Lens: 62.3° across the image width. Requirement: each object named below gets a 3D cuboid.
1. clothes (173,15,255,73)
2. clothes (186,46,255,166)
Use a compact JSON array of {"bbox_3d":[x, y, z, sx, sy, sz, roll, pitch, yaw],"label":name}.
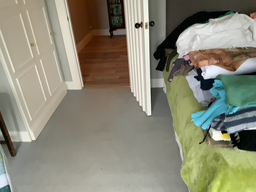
[{"bbox_3d":[0.720,-0.440,1.740,0.630,0.320,0.460,-1,29,6],"label":"clothes"},{"bbox_3d":[0.610,0.010,0.910,0.610,0.340,0.410,-3,29,3],"label":"clothes"}]
